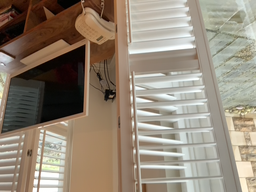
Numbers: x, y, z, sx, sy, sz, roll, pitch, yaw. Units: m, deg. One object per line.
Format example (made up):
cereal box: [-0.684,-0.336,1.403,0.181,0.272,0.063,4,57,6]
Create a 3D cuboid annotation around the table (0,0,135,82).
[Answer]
table: [-0.500,-0.500,1.450,0.990,0.450,0.420,-15,156,27]
